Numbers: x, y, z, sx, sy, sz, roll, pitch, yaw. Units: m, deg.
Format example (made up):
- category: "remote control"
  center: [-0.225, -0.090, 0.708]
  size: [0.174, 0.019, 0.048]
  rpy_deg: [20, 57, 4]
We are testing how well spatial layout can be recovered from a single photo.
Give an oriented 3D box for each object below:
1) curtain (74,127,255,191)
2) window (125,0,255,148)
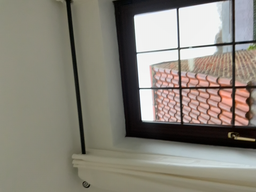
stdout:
- category: "curtain"
  center: [0.470, 0.460, 1.190]
  size: [0.120, 1.800, 0.420]
  rpy_deg: [-23, -69, -62]
- category: "window"
  center: [0.710, -0.160, 1.360]
  size: [0.060, 1.500, 1.020]
  rpy_deg: [-28, -64, -61]
